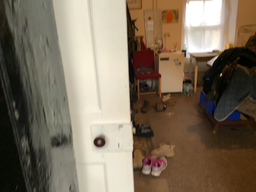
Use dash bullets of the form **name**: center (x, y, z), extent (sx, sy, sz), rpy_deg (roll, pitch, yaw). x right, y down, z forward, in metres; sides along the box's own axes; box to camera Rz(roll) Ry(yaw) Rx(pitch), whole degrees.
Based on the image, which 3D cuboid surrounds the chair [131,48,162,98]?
- **chair**: center (0.370, -0.480, 4.320), extent (0.490, 0.890, 0.550), rpy_deg (-6, 18, -9)

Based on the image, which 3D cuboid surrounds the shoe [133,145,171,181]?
- **shoe**: center (0.270, 0.700, 2.270), extent (0.300, 0.110, 0.410), rpy_deg (4, 19, 21)
